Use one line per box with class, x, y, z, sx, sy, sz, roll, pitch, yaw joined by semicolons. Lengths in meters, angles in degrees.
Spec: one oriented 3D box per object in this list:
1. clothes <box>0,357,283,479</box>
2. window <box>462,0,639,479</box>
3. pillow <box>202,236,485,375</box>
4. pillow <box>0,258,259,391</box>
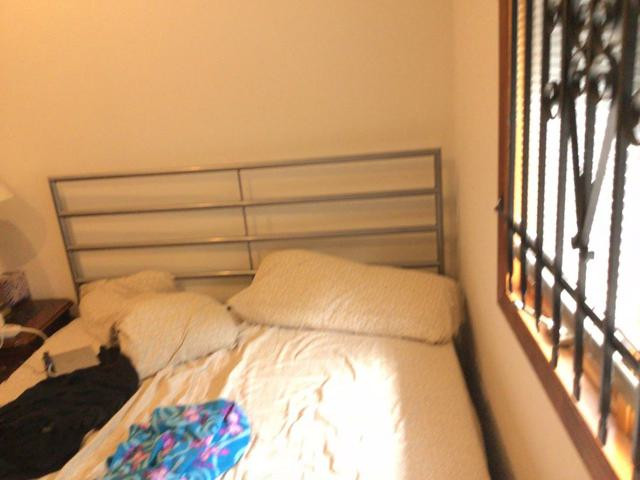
clothes;-0.430;0.590;1.240;0.580;0.130;1.070;-3;18;4
window;0.420;-0.240;0.820;0.180;1.340;1.370;-3;18;4
pillow;0.090;0.220;2.130;0.900;0.270;0.540;-3;18;4
pillow;-0.650;0.280;2.120;0.740;0.180;0.660;-3;18;4
